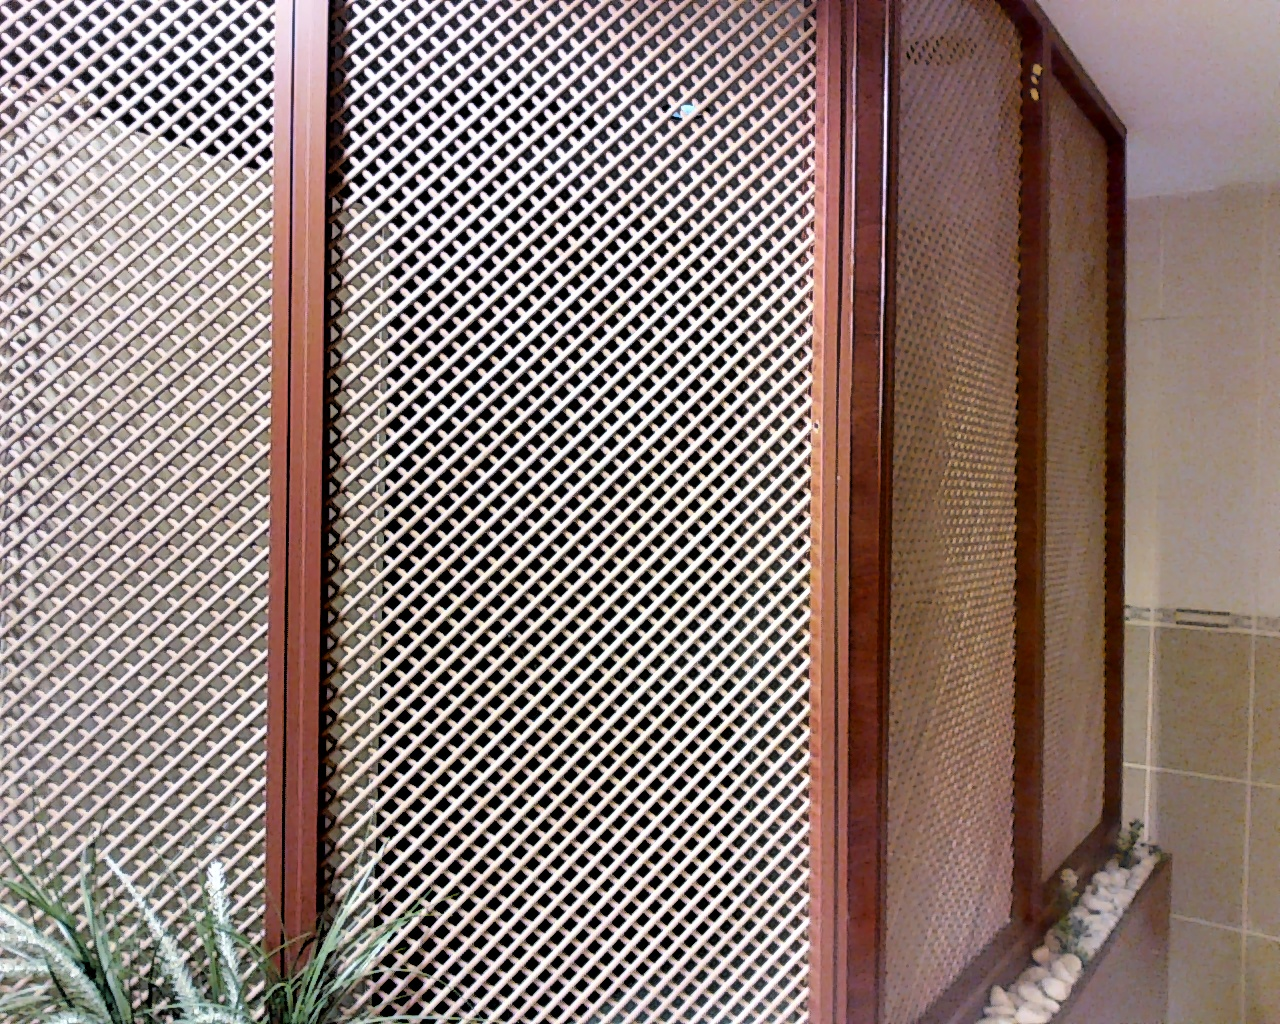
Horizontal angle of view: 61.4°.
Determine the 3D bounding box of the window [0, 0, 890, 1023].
[{"bbox_3d":[-0.400,-0.010,1.240,1.340,1.740,0.180,2,0,-10],"label":"window"}]
